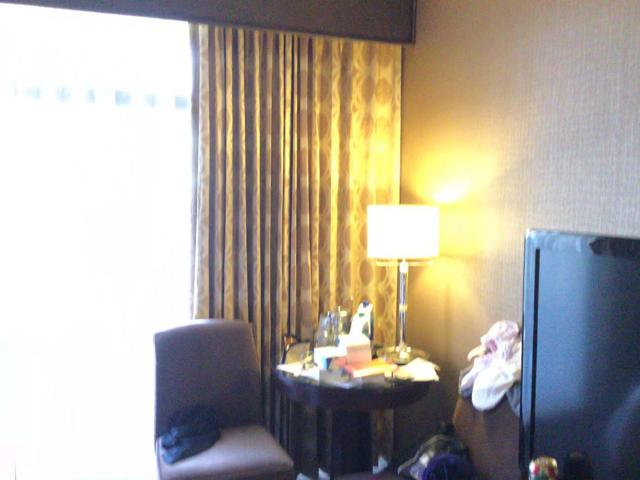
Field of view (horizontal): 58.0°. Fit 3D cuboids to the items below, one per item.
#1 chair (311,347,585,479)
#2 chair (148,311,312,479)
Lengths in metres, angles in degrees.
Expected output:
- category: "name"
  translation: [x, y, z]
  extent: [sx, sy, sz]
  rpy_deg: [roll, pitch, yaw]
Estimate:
- category: "chair"
  translation: [0.410, 0.910, 2.100]
  extent: [0.720, 0.880, 0.640]
  rpy_deg: [1, 2, -19]
- category: "chair"
  translation: [-0.440, 0.850, 2.550]
  extent: [0.560, 0.940, 0.770]
  rpy_deg: [1, 2, -20]
